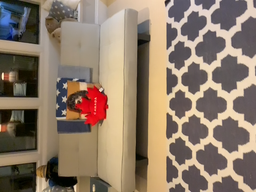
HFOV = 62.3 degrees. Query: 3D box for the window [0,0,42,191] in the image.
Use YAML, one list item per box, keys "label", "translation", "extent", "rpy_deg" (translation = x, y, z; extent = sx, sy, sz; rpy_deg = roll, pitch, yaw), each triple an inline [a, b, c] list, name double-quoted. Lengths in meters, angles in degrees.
- label: "window"
  translation: [-1.780, 0.070, 2.690]
  extent: [0.210, 1.220, 2.840]
  rpy_deg: [0, 89, 58]
